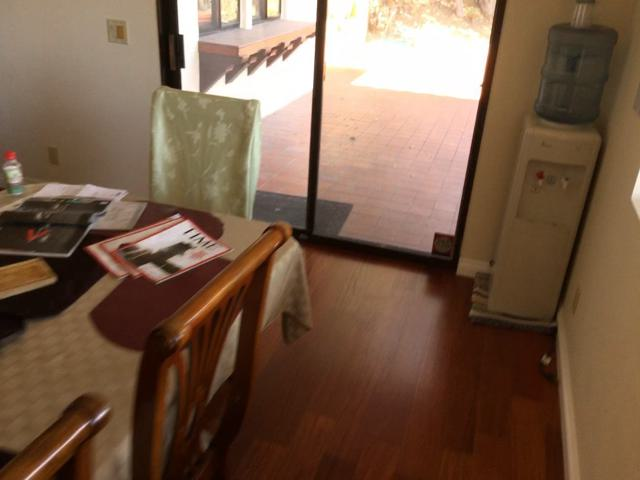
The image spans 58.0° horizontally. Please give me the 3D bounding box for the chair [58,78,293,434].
[{"bbox_3d":[-0.500,0.020,2.130,0.530,1.080,0.600,13,23,13],"label":"chair"}]
